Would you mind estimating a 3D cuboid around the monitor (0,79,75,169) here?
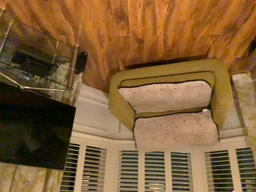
[{"bbox_3d":[-0.960,0.210,1.740,0.050,0.640,1.080,-21,147,41],"label":"monitor"}]
